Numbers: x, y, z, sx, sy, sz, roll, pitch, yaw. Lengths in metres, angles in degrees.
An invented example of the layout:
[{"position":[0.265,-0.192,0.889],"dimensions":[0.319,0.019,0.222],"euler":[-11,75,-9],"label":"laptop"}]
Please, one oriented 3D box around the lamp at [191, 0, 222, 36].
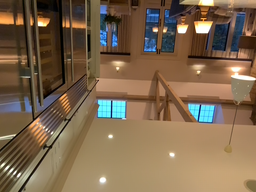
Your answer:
[{"position":[1.560,-1.570,4.250],"dimensions":[0.470,0.680,0.300],"euler":[7,-163,13],"label":"lamp"}]
